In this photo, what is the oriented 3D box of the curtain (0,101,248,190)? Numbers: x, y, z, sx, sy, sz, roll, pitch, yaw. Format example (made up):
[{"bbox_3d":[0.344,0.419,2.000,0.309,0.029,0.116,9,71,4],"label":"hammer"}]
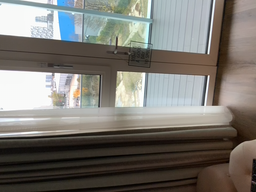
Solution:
[{"bbox_3d":[-0.240,0.310,1.550,0.280,2.550,0.480,-149,62,-67],"label":"curtain"}]
